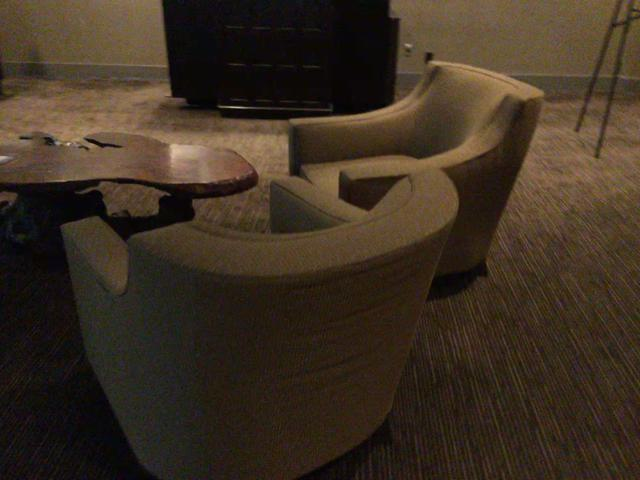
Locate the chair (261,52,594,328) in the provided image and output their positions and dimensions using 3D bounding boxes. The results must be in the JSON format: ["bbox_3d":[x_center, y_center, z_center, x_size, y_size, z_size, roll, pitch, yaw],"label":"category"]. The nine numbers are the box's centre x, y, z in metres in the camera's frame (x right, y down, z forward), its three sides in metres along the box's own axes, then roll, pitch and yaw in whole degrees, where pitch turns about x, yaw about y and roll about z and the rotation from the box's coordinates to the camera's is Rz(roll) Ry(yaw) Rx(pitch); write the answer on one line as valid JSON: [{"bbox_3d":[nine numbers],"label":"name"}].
[{"bbox_3d":[0.380,-0.310,2.630,1.070,0.830,0.940,-9,30,-17],"label":"chair"}]

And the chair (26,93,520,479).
[{"bbox_3d":[-0.190,0.170,1.660,0.850,0.850,1.010,-17,33,-29],"label":"chair"}]
